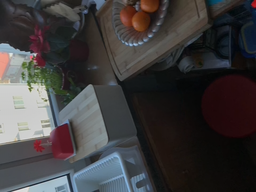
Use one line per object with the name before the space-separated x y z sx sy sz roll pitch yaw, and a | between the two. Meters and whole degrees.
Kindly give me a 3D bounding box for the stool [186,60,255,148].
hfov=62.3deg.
stool | 0.610 0.040 1.150 0.310 0.400 0.310 -40 64 39
